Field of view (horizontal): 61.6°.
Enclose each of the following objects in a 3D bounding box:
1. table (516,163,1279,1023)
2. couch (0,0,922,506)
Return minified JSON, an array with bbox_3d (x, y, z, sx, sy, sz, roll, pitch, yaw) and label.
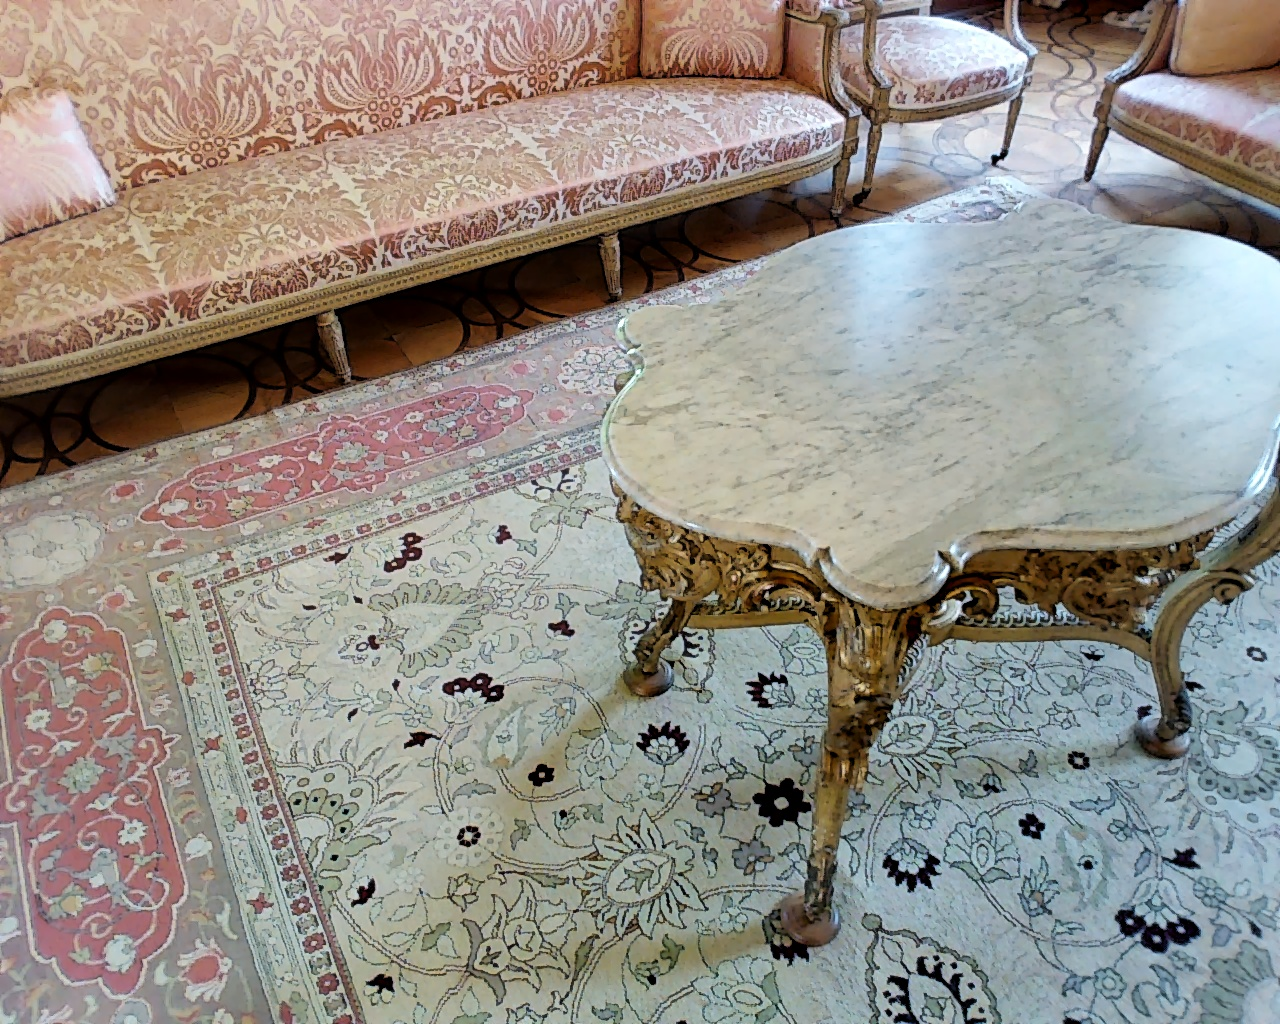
[{"bbox_3d":[0.540,0.080,1.850,1.190,0.830,0.830,-22,46,-22],"label":"table"},{"bbox_3d":[-0.620,-1.150,3.040,2.890,1.110,0.870,-22,46,-22],"label":"couch"}]
